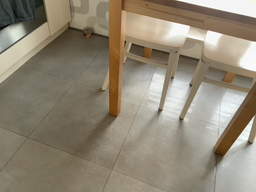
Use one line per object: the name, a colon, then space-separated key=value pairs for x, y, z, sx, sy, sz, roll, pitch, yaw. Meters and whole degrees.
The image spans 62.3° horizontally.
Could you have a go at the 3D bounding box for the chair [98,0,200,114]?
chair: x=0.120 y=-0.360 z=1.240 sx=0.430 sy=0.800 sz=0.400 roll=19 pitch=47 yaw=13

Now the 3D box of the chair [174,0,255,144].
chair: x=0.600 y=-0.200 z=1.120 sx=0.460 sy=0.800 sz=0.400 roll=19 pitch=47 yaw=13
